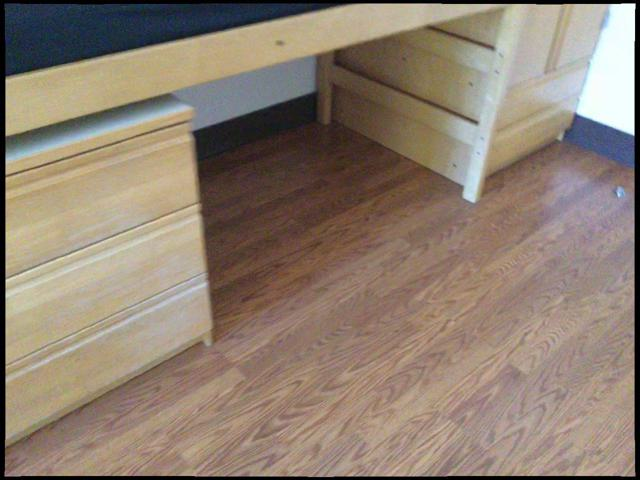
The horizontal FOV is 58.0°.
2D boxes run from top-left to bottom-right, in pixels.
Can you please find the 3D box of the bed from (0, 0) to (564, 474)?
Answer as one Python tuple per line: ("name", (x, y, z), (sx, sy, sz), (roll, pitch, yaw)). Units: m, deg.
("bed", (-0.439, -0.451, 1.850), (2.268, 1.071, 1.130), (-25, 46, -30))
